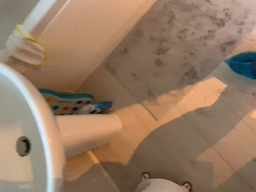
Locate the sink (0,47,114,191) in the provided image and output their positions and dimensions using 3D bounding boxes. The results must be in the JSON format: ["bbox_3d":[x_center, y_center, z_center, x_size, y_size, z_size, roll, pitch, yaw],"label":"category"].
[{"bbox_3d":[-0.390,0.170,0.670,0.370,0.210,0.580,-44,75,14],"label":"sink"}]
